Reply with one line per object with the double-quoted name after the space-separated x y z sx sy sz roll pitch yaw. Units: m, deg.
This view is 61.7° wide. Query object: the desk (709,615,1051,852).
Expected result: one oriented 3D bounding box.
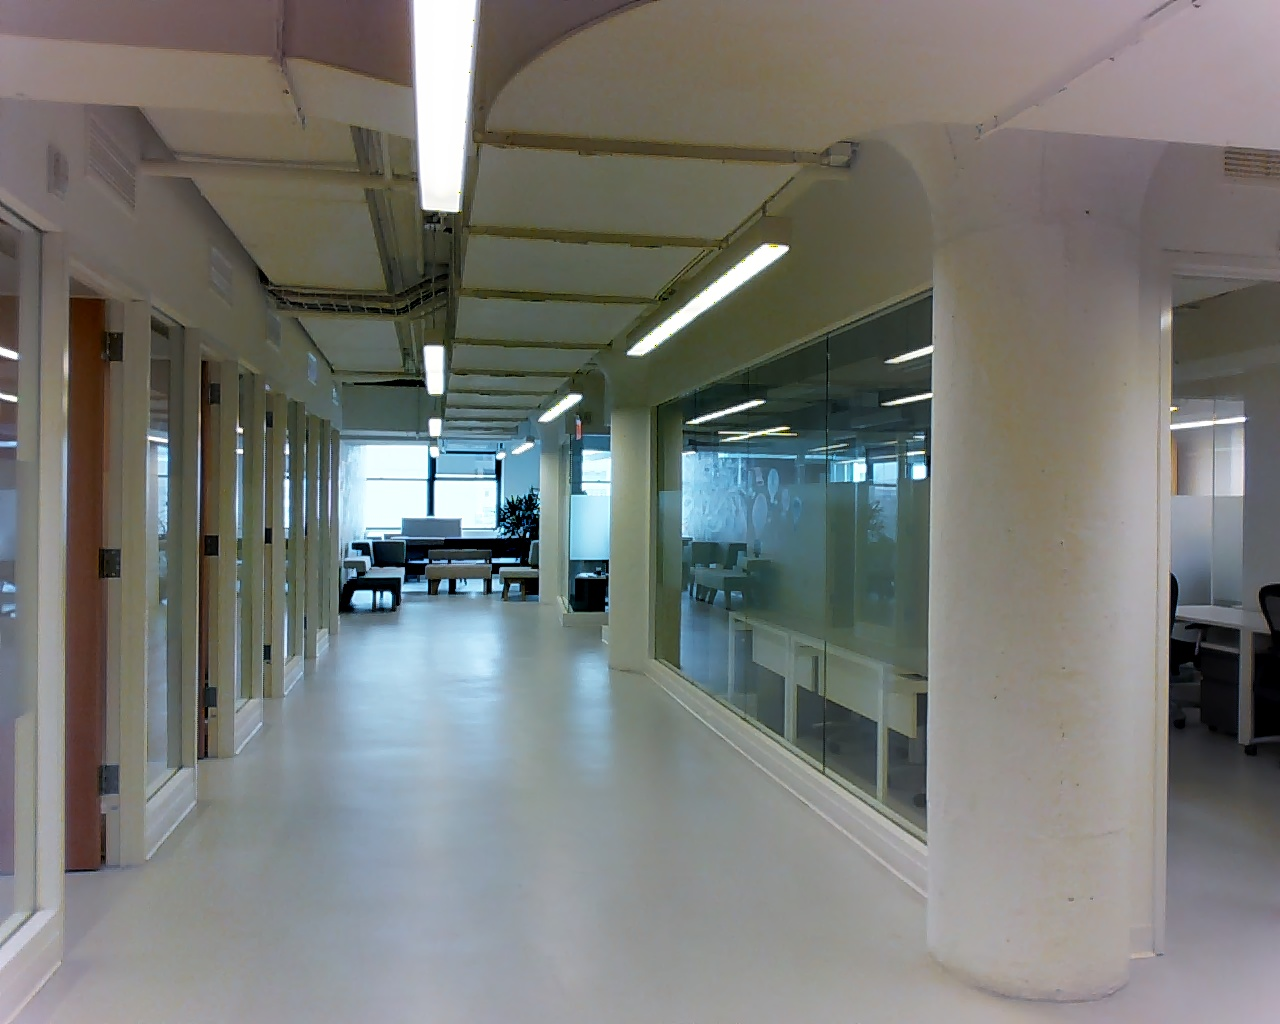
1.150 1.090 6.020 0.810 0.760 2.710 1 0 -12 "desk"
